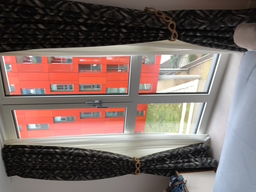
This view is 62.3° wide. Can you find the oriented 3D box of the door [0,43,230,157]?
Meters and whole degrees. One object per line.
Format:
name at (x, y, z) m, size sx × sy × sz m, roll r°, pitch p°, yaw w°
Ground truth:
door at (-0.070, 0.090, 2.520) m, size 0.080 × 2.480 × 1.300 m, roll -115°, pitch 27°, yaw -64°
